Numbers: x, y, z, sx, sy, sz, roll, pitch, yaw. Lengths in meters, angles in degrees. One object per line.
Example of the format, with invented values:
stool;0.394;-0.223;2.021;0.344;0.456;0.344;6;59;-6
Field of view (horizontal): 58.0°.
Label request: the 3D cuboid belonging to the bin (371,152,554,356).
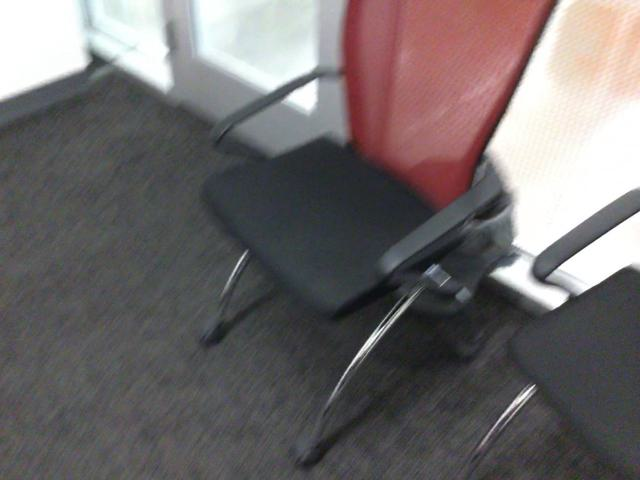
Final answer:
bin;0.370;0.030;1.560;0.300;0.350;0.310;32;48;27
